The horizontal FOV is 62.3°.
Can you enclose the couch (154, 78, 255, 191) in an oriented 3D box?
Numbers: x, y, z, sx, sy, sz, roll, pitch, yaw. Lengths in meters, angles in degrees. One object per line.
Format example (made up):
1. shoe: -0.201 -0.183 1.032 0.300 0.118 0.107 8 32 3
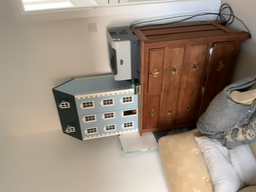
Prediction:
1. couch: 0.800 0.450 1.530 0.950 0.910 0.750 97 163 -60
